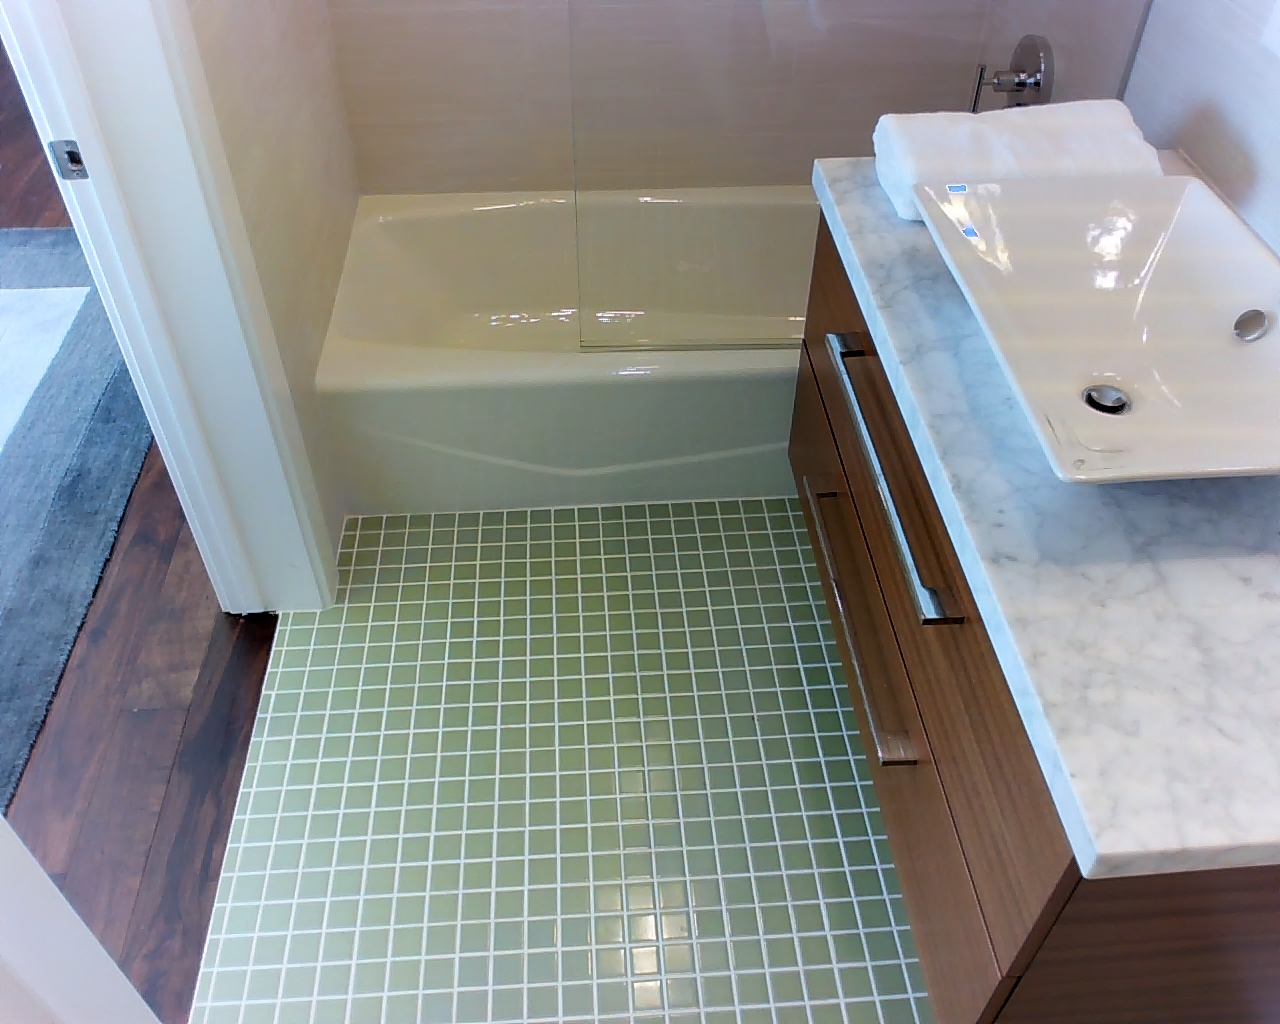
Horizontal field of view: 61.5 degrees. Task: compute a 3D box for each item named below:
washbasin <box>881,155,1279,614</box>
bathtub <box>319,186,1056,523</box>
[{"bbox_3d":[0.530,-0.180,1.190,0.370,0.150,0.620,-2,44,-3],"label":"washbasin"},{"bbox_3d":[0.080,-0.390,2.470,1.430,0.350,0.750,-2,44,-3],"label":"bathtub"}]
